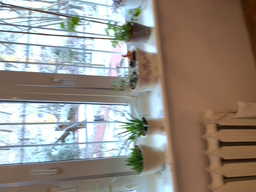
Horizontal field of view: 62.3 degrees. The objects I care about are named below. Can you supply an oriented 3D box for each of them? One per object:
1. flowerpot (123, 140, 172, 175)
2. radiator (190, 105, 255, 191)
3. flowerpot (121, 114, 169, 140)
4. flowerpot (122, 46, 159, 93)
[{"bbox_3d":[0.100,0.340,1.180,0.190,0.200,0.160,139,130,-65],"label":"flowerpot"},{"bbox_3d":[0.820,0.650,1.310,0.200,0.710,1.170,143,126,-67],"label":"radiator"},{"bbox_3d":[0.090,0.180,1.220,0.190,0.210,0.120,143,126,-67],"label":"flowerpot"},{"bbox_3d":[0.070,-0.150,1.280,0.180,0.150,0.220,142,127,-66],"label":"flowerpot"}]
